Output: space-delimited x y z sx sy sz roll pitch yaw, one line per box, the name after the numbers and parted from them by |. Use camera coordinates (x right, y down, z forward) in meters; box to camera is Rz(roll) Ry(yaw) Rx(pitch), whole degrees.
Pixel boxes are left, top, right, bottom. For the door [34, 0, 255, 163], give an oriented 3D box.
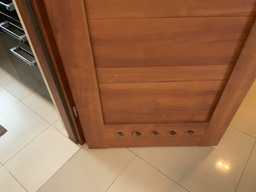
0.160 -0.380 0.480 0.800 2.130 0.100 -1 47 -1 | door
